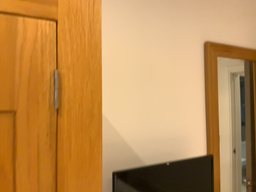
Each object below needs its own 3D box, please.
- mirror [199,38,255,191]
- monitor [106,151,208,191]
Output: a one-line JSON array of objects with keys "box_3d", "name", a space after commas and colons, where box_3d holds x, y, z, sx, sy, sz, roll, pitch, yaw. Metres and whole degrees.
[{"box_3d": [0.720, 0.360, 1.440, 0.600, 1.430, 0.030, 0, -1, -28], "name": "mirror"}, {"box_3d": [0.160, 0.470, 0.960, 0.540, 0.360, 0.050, 1, -1, -30], "name": "monitor"}]
